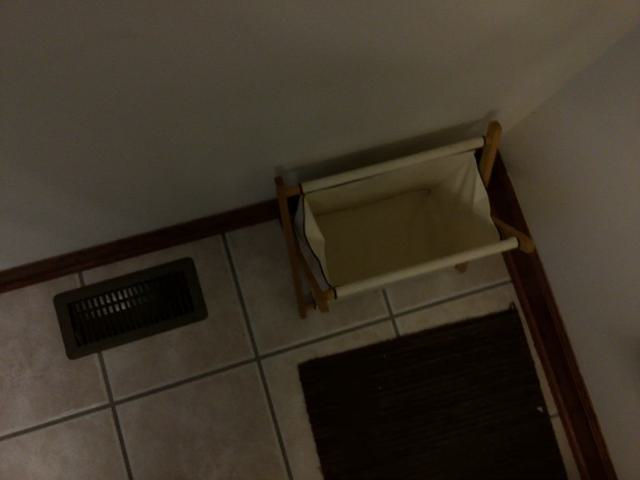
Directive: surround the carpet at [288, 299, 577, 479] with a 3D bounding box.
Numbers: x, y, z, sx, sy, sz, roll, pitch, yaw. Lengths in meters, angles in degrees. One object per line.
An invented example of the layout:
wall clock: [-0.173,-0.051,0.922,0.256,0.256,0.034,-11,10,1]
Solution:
carpet: [0.250,0.440,1.200,0.510,0.510,0.040,-15,-8,-9]
